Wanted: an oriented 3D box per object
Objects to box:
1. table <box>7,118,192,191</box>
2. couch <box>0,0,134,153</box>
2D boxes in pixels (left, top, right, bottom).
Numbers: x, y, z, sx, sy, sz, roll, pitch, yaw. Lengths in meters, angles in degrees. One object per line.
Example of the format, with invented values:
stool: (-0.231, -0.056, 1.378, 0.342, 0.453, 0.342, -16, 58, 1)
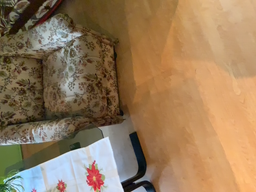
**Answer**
table: (-0.220, 0.600, 1.340, 1.020, 0.550, 0.590, -27, 74, 35)
couch: (-0.640, -0.070, 1.430, 0.900, 0.920, 0.730, -12, 83, 38)
